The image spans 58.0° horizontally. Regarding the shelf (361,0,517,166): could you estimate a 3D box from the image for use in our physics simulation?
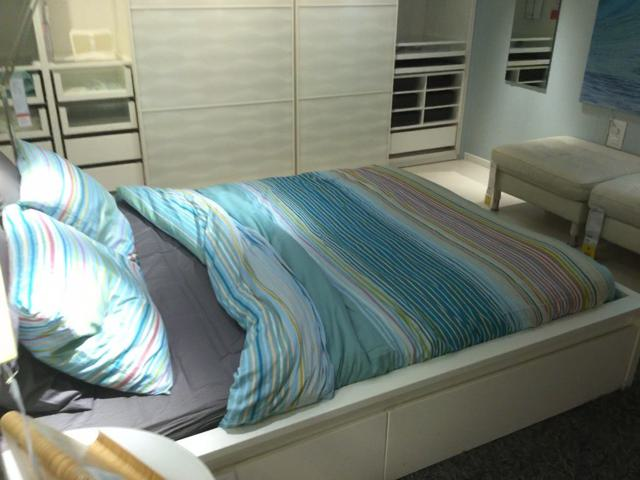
[{"bbox_3d":[0.820,-1.770,4.060,0.830,2.270,0.700,-13,27,-20],"label":"shelf"}]
